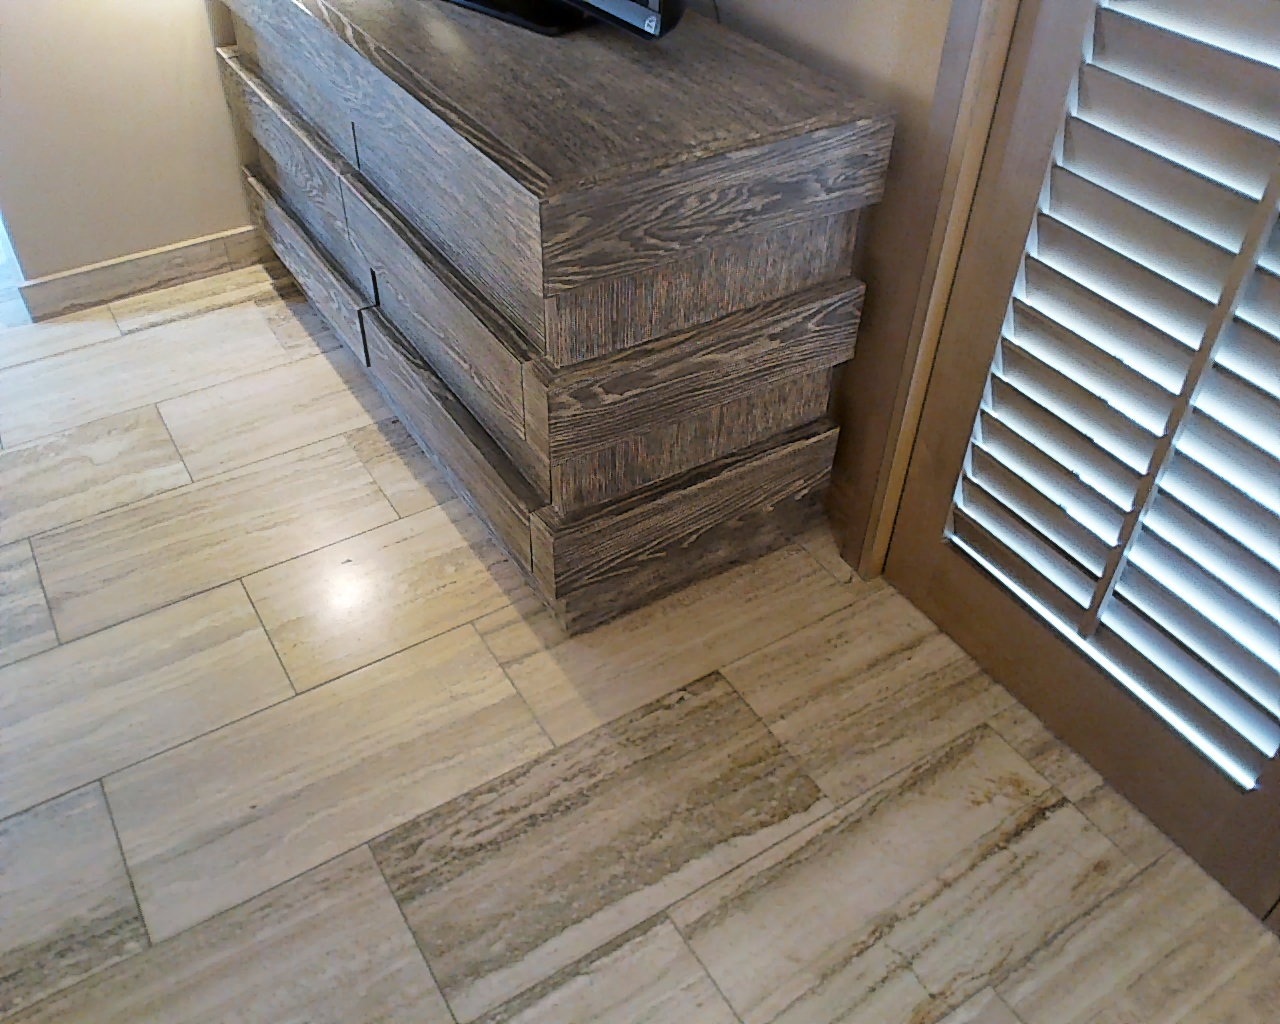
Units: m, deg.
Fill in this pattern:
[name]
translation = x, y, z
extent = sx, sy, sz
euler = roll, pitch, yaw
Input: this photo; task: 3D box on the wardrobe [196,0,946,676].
[wardrobe]
translation = -0.270, -0.590, 2.160
extent = 0.680, 0.820, 1.560
euler = -22, 46, -24
